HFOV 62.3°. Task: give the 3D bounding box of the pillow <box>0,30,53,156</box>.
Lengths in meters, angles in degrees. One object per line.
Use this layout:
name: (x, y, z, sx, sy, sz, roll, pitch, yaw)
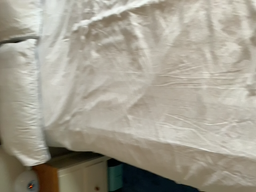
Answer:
pillow: (-0.640, -0.020, 1.230, 0.420, 0.200, 0.600, 2, 94, 44)
